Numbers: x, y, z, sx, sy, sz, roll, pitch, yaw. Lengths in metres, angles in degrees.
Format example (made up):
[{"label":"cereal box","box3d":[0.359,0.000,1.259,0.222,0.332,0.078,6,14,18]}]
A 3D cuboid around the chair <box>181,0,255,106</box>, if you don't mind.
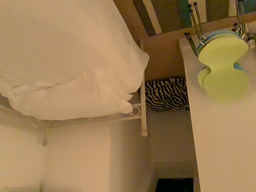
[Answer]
[{"label":"chair","box3d":[0.640,-0.320,1.570,0.350,0.660,0.400,-9,155,20]}]
